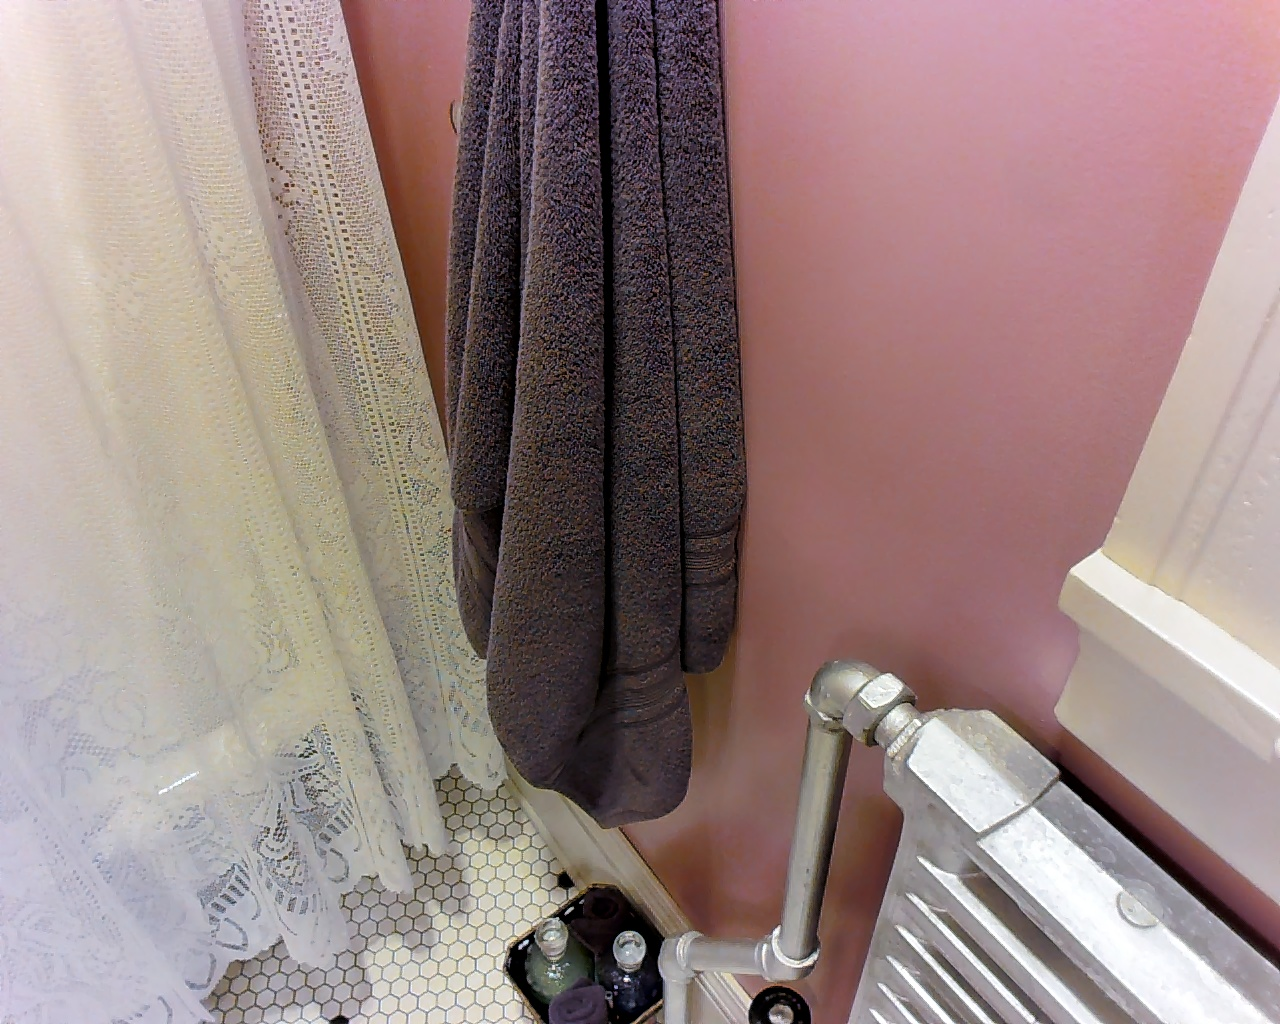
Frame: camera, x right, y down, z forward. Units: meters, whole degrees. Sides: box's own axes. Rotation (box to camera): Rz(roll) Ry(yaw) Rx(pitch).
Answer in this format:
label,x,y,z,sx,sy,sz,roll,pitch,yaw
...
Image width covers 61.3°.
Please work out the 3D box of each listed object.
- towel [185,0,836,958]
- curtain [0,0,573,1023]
label,x,y,z,sx,sy,sz,roll,pitch,yaw
towel,-0.110,-0.100,0.900,0.260,1.040,0.400,-24,48,-24
curtain,-0.740,-0.050,0.650,1.400,1.960,0.230,-24,48,-24
